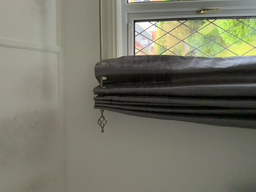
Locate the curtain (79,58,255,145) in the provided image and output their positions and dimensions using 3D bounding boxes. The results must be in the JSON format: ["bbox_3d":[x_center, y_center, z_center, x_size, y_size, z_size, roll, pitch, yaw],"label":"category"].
[{"bbox_3d":[0.700,0.020,1.170,0.270,1.900,0.430,-32,-59,-83],"label":"curtain"}]
